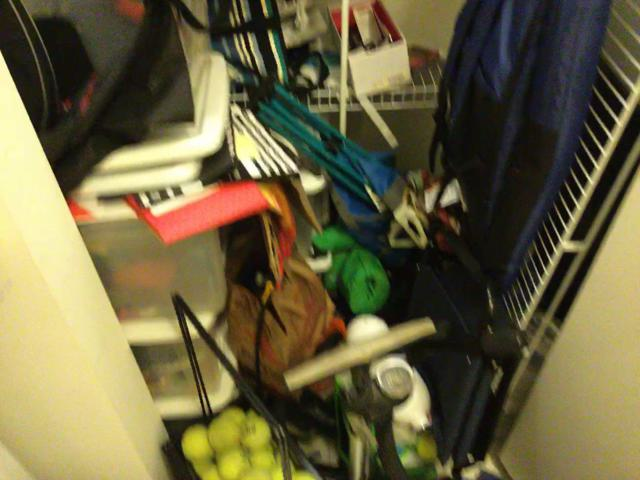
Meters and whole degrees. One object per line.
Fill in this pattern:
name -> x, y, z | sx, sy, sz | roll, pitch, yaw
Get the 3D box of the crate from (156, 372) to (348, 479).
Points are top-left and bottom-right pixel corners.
crate -> -0.120, 0.550, 1.200 | 0.240, 0.350, 0.340 | -29, 52, -26
